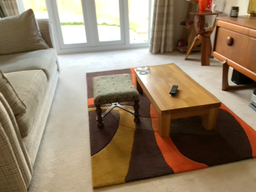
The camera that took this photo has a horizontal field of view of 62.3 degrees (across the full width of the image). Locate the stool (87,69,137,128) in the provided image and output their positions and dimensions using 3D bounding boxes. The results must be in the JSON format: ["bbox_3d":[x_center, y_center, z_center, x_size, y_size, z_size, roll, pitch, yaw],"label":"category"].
[{"bbox_3d":[-0.150,0.000,1.860,0.370,0.300,0.450,-6,29,-8],"label":"stool"}]

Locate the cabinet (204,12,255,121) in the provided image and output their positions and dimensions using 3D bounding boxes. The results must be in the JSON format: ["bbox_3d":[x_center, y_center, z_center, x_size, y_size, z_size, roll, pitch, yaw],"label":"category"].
[{"bbox_3d":[1.240,-0.170,1.650,0.480,0.700,1.510,-7,29,-9],"label":"cabinet"}]

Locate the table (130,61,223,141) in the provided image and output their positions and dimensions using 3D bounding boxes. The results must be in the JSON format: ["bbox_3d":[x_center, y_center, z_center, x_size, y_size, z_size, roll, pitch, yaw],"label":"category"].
[{"bbox_3d":[0.350,-0.020,1.910,0.460,0.260,0.890,-8,29,-11],"label":"table"}]

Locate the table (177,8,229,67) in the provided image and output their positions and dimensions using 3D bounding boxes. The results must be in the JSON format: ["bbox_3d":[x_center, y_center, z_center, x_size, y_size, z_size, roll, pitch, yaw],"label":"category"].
[{"bbox_3d":[0.980,-0.800,2.870,0.430,0.660,0.420,-7,29,-10],"label":"table"}]
